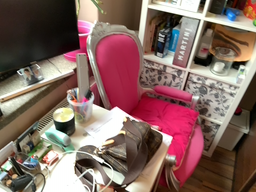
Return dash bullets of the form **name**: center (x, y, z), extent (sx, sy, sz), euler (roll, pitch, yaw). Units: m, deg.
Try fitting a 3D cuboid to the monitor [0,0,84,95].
- **monitor**: center (-0.450, -0.240, 0.960), extent (0.530, 0.400, 0.050), euler (-27, 49, -34)
